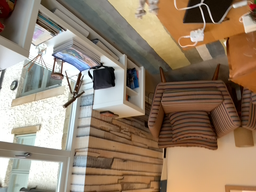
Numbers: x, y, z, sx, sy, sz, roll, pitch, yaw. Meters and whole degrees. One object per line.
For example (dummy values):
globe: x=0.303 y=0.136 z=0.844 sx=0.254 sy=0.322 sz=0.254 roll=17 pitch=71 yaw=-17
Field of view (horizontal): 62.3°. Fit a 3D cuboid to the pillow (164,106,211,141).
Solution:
pillow: x=0.670 y=0.300 z=2.380 sx=0.470 sy=0.310 sz=0.150 roll=3 pitch=149 yaw=19
